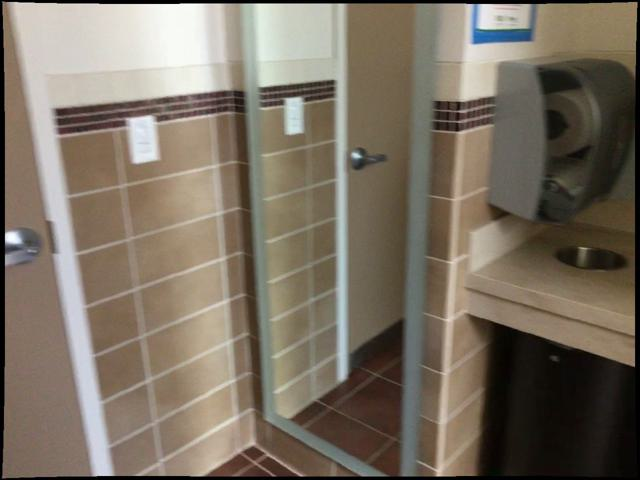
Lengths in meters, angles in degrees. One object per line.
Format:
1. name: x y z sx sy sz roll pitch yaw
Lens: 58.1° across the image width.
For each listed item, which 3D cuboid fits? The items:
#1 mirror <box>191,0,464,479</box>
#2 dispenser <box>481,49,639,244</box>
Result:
1. mirror: 0.010 0.040 1.620 0.799 1.664 0.110 15 27 42
2. dispenser: 0.588 -0.241 1.370 0.270 0.381 0.310 15 27 42
